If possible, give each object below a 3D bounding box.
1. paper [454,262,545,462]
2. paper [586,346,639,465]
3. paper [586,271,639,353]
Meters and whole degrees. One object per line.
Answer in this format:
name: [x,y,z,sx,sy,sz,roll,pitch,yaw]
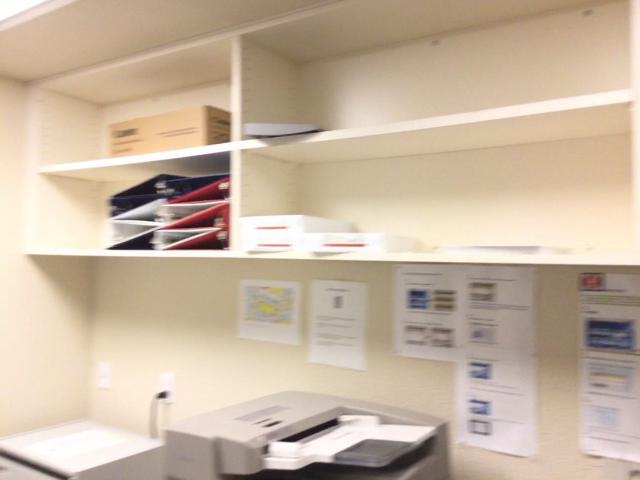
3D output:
paper: [0.480,0.310,1.550,0.220,0.500,0.040,-1,-6,35]
paper: [0.720,0.390,1.370,0.160,0.260,0.030,-1,-6,35]
paper: [0.720,0.170,1.380,0.150,0.190,0.020,-1,-6,35]
